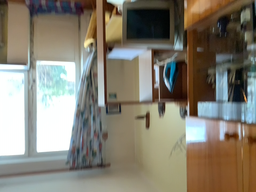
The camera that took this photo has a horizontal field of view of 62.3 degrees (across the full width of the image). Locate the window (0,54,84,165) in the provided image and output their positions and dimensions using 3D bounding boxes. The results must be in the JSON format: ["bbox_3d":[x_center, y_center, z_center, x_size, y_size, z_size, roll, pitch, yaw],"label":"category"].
[{"bbox_3d":[-1.490,0.200,3.490,1.480,1.700,0.180,-1,180,-20],"label":"window"}]
